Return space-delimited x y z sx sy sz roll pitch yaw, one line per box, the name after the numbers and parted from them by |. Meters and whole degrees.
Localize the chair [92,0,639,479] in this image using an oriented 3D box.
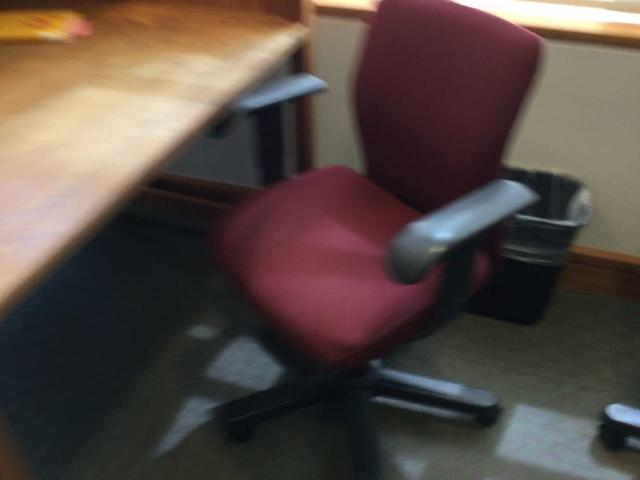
0.080 0.030 1.210 0.650 0.920 0.690 -27 47 -31 | chair

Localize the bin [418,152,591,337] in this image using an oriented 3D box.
0.510 0.010 1.640 0.370 0.380 0.250 13 40 14 | bin
